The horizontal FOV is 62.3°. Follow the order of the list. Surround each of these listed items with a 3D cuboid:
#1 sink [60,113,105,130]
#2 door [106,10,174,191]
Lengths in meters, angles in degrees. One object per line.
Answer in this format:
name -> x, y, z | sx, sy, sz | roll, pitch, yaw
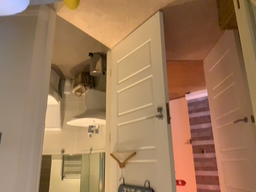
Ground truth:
sink -> -0.650, 0.370, 3.010 | 0.580, 0.120, 0.360 | -16, 158, 40
door -> 0.040, 0.310, 1.920 | 0.030, 2.030, 0.840 | 11, 159, -36
